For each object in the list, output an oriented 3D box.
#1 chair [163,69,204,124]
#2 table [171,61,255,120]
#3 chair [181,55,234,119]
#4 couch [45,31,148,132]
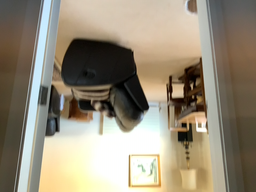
[{"bbox_3d":[0.940,0.030,3.710,0.510,0.840,0.510,1,165,-2],"label":"chair"},{"bbox_3d":[1.370,-0.040,3.570,1.060,0.760,0.870,1,165,-4],"label":"table"},{"bbox_3d":[1.150,-0.110,3.180,0.520,0.840,0.500,1,165,-4],"label":"chair"},{"bbox_3d":[-0.380,-0.060,3.100,1.090,1.010,1.510,2,165,-4],"label":"couch"}]
